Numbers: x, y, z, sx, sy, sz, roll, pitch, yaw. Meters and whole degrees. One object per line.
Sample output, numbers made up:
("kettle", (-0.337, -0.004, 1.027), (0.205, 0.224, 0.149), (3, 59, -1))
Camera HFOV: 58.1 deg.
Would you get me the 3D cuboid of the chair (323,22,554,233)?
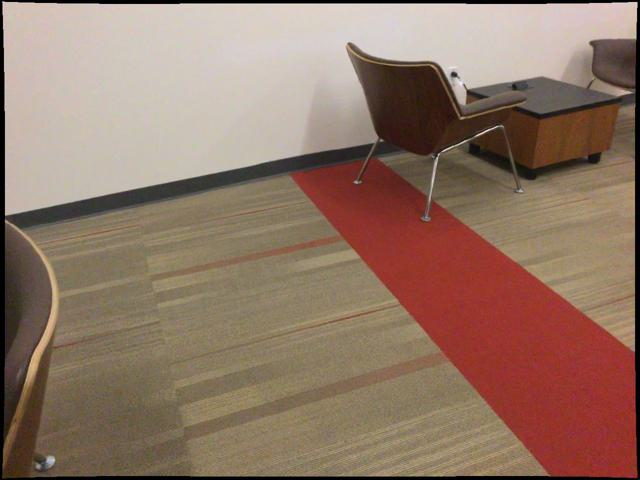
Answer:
("chair", (0.569, -0.652, 3.050), (0.739, 0.761, 0.890), (-17, 32, -21))
